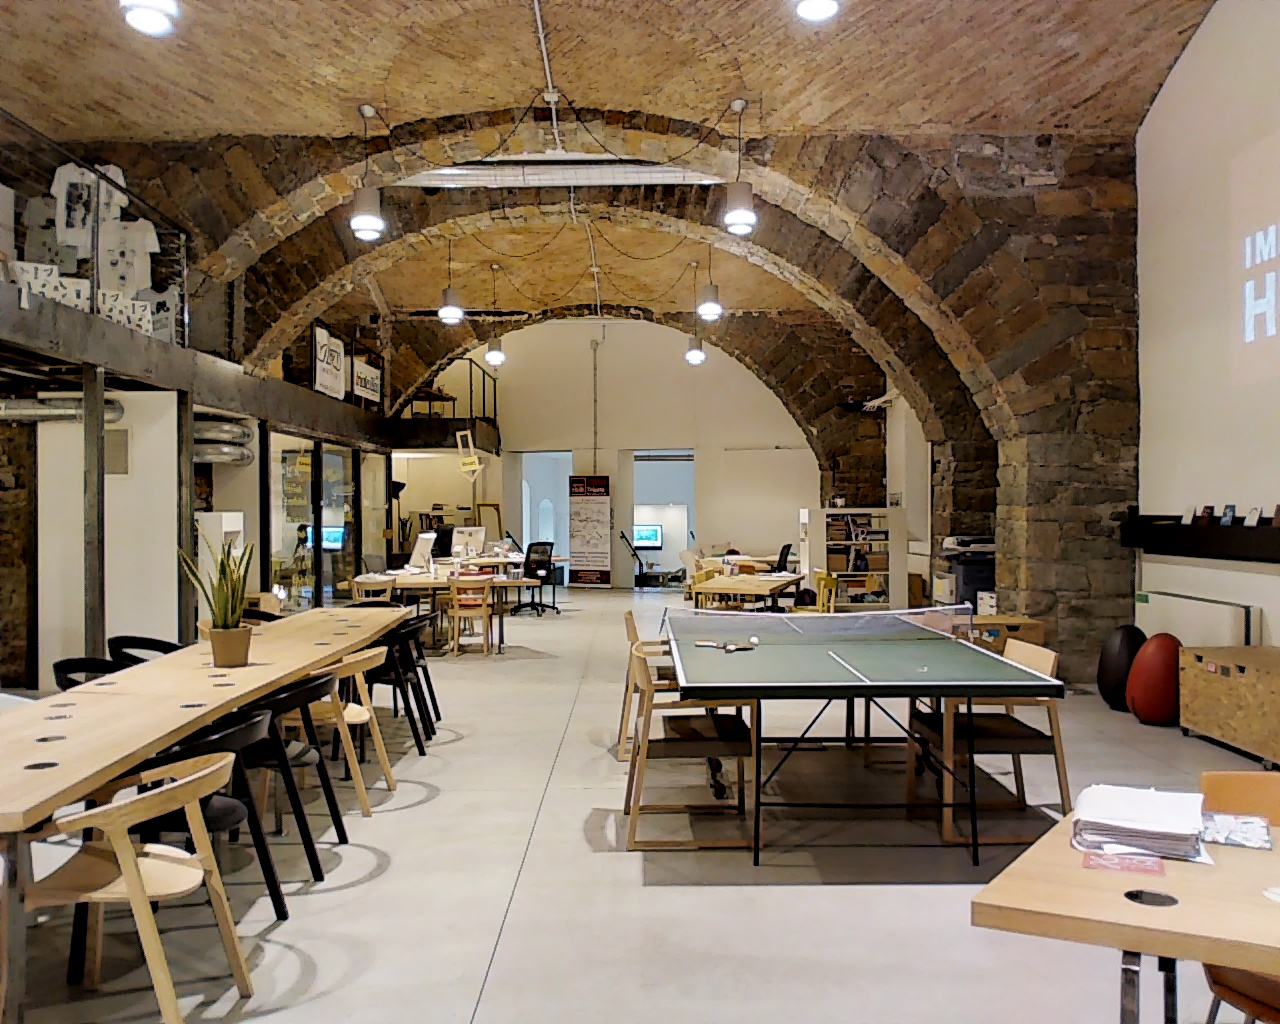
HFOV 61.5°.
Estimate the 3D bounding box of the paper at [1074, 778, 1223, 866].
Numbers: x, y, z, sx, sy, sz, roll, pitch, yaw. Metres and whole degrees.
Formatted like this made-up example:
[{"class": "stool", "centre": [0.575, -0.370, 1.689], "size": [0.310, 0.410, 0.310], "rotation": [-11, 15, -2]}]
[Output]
[{"class": "paper", "centre": [1.120, 0.680, 2.390], "size": [0.280, 0.070, 0.350], "rotation": [0, 0, 24]}]
